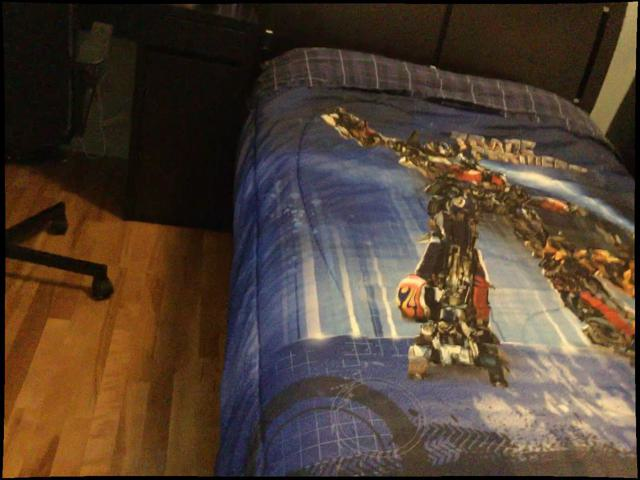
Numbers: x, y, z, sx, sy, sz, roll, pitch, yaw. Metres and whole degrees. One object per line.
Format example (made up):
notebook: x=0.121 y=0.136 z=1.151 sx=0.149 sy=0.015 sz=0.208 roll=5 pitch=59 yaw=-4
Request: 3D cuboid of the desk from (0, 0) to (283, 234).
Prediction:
desk: x=-0.719 y=-0.821 z=1.850 sx=1.129 sy=1.371 sz=0.600 roll=7 pitch=32 yaw=-13

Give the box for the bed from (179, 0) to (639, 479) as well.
bed: x=0.519 y=-0.120 z=1.550 sx=1.549 sy=0.881 sz=2.161 roll=8 pitch=31 yaw=-11
